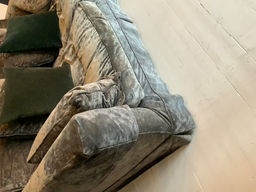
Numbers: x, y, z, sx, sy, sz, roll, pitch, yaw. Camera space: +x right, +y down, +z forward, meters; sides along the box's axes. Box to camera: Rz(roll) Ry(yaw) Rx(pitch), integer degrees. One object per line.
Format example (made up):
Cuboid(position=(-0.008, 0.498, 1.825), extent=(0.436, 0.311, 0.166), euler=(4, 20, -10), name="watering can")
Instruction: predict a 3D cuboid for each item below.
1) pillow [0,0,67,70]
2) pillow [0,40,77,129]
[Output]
Cuboid(position=(-0.790, -0.530, 1.690), extent=(0.150, 0.470, 0.480), euler=(-27, 25, 25), name="pillow")
Cuboid(position=(-0.560, -0.080, 1.340), extent=(0.160, 0.420, 0.410), euler=(-39, 32, 20), name="pillow")
